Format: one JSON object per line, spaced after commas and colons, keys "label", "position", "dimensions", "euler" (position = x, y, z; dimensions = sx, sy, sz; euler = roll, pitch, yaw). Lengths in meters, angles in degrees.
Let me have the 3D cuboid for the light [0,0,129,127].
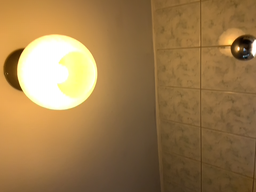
{"label": "light", "position": [-0.220, -0.110, 0.620], "dimensions": [0.310, 0.290, 0.310], "euler": [-19, 64, 34]}
